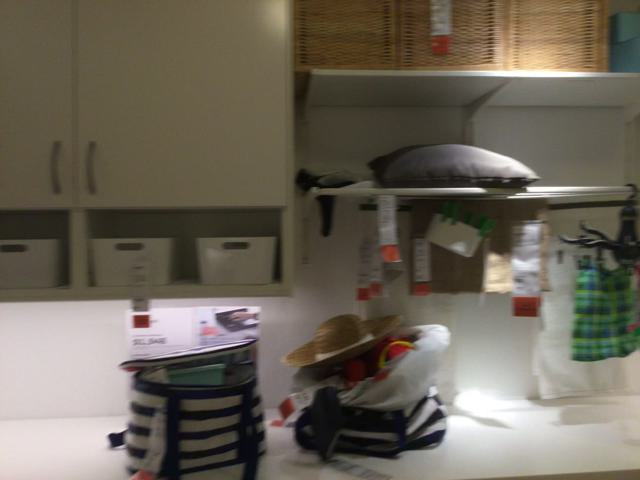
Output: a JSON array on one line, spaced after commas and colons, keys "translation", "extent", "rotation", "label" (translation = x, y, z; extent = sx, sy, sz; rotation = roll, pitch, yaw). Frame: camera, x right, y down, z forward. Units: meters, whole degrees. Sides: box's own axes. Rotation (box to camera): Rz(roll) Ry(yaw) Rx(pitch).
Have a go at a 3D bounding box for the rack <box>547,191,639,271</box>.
[{"translation": [0.990, -0.040, 1.800], "extent": [0.330, 0.210, 0.530], "rotation": [-6, 1, -2], "label": "rack"}]
